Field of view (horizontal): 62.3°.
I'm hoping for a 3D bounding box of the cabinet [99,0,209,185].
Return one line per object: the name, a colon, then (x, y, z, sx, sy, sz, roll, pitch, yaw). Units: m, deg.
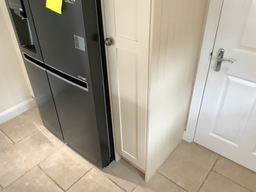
cabinet: (0.190, -0.370, 1.350, 0.330, 2.150, 0.640, 25, 43, 32)
